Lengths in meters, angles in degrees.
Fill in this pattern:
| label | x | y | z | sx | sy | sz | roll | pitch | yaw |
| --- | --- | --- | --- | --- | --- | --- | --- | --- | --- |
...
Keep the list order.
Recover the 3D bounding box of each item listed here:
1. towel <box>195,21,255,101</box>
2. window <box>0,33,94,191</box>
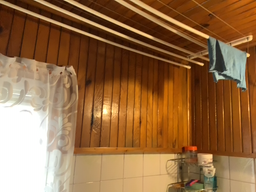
| label | x | y | z | sx | sy | sz | roll | pitch | yaw |
| --- | --- | --- | --- | --- | --- | --- | --- | --- | --- |
| towel | 0.540 | -0.150 | 1.120 | 0.470 | 0.280 | 0.140 | 13 | -15 | -43 |
| window | -0.480 | 0.290 | 0.780 | 0.680 | 1.040 | 0.090 | 11 | -14 | -39 |
